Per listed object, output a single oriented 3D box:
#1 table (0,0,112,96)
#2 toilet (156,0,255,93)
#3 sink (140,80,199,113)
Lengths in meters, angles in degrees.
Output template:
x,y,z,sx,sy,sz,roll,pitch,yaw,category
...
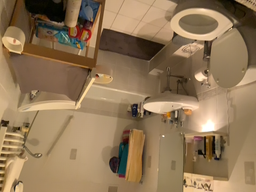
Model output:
x,y,z,sx,sy,sz,roll,pitch,yaw,category
-0.540,-0.560,1.710,0.610,0.870,0.800,11,163,-19,table
0.620,-0.510,1.610,0.650,0.800,0.420,11,163,-18,toilet
0.430,0.030,2.330,0.400,0.170,0.570,11,163,-18,sink
